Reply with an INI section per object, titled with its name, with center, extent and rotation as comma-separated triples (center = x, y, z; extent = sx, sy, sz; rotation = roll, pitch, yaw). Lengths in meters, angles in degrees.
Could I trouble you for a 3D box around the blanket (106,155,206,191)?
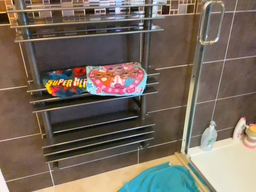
[blanket]
center = 0.250, 0.680, 1.240
extent = 0.550, 0.030, 0.740
rotation = -11, 30, -20
